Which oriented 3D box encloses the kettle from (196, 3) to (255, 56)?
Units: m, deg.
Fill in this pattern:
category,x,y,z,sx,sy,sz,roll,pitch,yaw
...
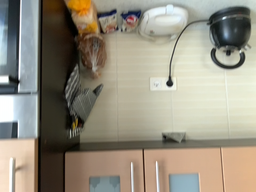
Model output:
category,x,y,z,sx,sy,sz,roll,pitch,yaw
kettle,0.520,-0.330,1.100,0.240,0.190,0.210,0,174,-6
